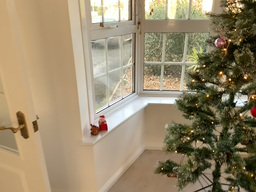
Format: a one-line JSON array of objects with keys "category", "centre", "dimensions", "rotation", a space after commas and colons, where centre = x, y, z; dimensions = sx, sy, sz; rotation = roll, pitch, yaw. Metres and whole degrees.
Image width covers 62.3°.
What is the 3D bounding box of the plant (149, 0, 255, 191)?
[{"category": "plant", "centre": [0.720, 0.010, 1.470], "dimensions": [1.060, 1.770, 1.060], "rotation": [3, 24, 7]}]
